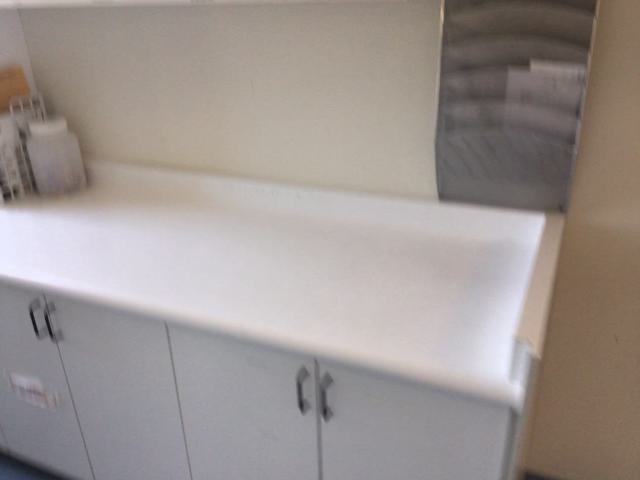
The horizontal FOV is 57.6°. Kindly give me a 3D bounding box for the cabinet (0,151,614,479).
[{"bbox_3d":[-0.620,0.350,1.690,2.440,0.990,0.610,8,25,17],"label":"cabinet"}]
